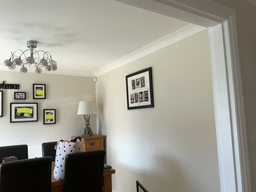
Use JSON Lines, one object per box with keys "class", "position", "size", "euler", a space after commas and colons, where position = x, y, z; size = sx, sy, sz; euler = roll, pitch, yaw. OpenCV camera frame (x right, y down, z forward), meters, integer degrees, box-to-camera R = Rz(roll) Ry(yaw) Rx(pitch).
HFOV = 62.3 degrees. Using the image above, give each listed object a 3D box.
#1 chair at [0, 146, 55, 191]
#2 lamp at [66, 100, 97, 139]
{"class": "chair", "position": [-0.990, 1.050, 1.970], "size": [0.460, 1.030, 0.620], "euler": [1, -6, -34]}
{"class": "lamp", "position": [-0.870, 0.420, 3.920], "size": [0.420, 0.660, 0.400], "euler": [1, -6, -36]}
